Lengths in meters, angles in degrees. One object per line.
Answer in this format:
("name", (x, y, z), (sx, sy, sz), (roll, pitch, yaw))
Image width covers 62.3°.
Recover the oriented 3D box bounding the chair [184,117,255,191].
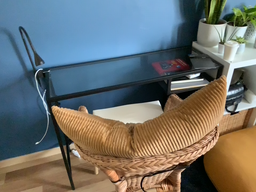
("chair", (0.870, 0.440, 1.400), (0.760, 0.220, 0.580), (-11, 36, -14))
